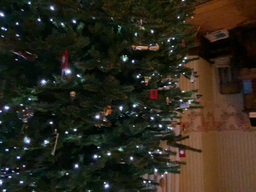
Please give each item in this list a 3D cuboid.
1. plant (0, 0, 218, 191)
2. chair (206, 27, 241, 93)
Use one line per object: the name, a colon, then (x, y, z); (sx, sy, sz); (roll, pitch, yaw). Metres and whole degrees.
plant: (-0.470, 0.360, 1.740); (1.780, 2.970, 1.560); (-7, 171, 40)
chair: (1.440, -0.510, 3.200); (0.340, 0.870, 0.420); (-6, 171, 39)
